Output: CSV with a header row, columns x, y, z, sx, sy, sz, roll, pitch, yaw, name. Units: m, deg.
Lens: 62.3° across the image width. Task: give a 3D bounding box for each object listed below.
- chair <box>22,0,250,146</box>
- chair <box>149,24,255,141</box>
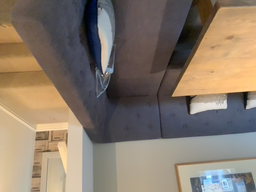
x,y,z,sx,sy,sz,roll,pitch,yaw,name
-0.030,-0.260,1.690,0.740,0.950,1.790,-3,157,-4,chair
1.050,-0.120,2.240,1.470,0.950,0.730,-4,157,-3,chair
